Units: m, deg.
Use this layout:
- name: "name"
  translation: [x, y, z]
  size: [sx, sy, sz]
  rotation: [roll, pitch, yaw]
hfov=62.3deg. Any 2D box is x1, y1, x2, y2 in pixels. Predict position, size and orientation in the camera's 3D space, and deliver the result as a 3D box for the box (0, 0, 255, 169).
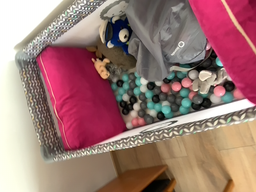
- name: "box"
  translation: [0.010, -0.140, 1.210]
  size: [1.380, 0.710, 0.730]
  rotation: [-20, 85, 35]
